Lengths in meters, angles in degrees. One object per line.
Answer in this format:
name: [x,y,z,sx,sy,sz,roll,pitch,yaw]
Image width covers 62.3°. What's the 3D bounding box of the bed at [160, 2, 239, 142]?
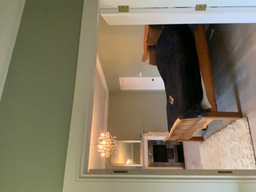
bed: [1.310,-0.330,4.670,2.220,0.810,2.290,87,-177,-68]
